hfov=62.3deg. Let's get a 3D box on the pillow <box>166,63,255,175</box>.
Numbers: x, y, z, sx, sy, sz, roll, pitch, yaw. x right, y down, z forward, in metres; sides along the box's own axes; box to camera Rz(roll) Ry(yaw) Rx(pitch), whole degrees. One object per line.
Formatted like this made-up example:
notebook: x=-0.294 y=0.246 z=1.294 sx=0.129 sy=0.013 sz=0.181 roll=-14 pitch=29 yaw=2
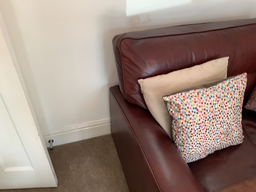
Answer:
pillow: x=0.440 y=0.120 z=0.980 sx=0.450 sy=0.350 sz=0.140 roll=-30 pitch=44 yaw=-3
